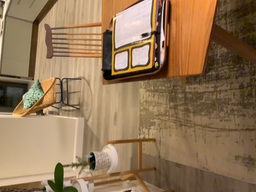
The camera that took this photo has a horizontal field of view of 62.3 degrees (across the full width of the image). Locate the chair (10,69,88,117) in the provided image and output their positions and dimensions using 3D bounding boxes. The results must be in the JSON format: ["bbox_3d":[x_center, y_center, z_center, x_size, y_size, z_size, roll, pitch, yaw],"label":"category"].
[{"bbox_3d":[-1.380,0.010,3.560,1.410,0.820,0.610,-4,82,53],"label":"chair"}]

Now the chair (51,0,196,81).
[{"bbox_3d":[-0.020,-0.470,1.630,0.590,0.900,0.570,0,85,53],"label":"chair"}]

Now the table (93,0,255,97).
[{"bbox_3d":[0.390,-0.960,1.260,0.880,0.760,1.860,-3,83,53],"label":"table"}]
